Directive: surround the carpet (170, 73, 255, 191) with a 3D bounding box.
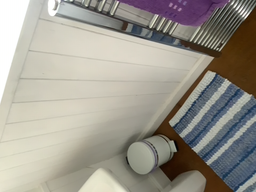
[{"bbox_3d":[0.670,0.300,1.230,0.830,0.020,0.470,45,119,28],"label":"carpet"}]

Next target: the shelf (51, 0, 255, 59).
[{"bbox_3d":[0.280,-0.360,0.710,0.080,1.020,0.410,46,120,28],"label":"shelf"}]
